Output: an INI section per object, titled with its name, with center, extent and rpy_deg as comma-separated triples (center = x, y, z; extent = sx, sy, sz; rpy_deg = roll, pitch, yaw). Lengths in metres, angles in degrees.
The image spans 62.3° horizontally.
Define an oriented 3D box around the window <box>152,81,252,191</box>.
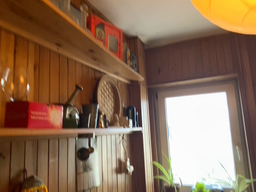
[window]
center = 0.700, 0.480, 2.130
extent = 0.850, 1.170, 0.120
rpy_deg = -5, -10, 19
